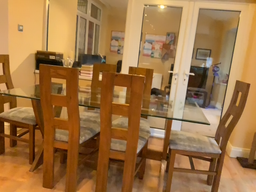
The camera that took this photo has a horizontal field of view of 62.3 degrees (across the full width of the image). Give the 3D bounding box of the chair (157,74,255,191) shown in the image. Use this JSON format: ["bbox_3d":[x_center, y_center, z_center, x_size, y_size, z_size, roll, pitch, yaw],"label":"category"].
[{"bbox_3d":[0.650,0.370,1.970,0.610,1.050,0.500,8,11,9],"label":"chair"}]

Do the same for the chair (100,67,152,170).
[{"bbox_3d":[0.000,0.210,2.490,0.400,1.020,0.620,8,11,9],"label":"chair"}]

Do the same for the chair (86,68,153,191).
[{"bbox_3d":[-0.050,0.320,1.850,0.400,1.050,0.600,7,11,7],"label":"chair"}]

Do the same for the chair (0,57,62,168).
[{"bbox_3d":[-1.140,0.130,2.280,0.660,1.020,0.440,8,11,11],"label":"chair"}]
